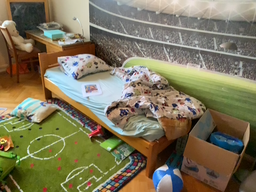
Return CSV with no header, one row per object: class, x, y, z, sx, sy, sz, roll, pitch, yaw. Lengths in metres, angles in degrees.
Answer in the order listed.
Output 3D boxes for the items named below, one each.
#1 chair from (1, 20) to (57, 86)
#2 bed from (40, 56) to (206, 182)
chair,-1.590,-0.730,3.470,0.520,0.880,0.560,28,36,37
bed,-0.170,0.060,2.610,1.850,0.500,0.930,28,35,37
